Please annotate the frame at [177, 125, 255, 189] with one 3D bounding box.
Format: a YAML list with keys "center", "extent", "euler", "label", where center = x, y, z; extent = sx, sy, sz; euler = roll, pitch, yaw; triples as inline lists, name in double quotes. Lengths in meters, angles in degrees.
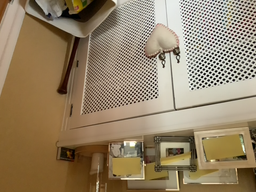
- center: [0.390, 0.260, 0.840]
  extent: [0.290, 0.190, 0.270]
  euler: [-14, 152, 28]
  label: "frame"

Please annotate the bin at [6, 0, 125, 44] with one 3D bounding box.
- center: [-0.310, -0.600, 1.170]
  extent: [0.450, 0.340, 0.390]
  euler: [-13, 152, 26]
  label: "bin"
